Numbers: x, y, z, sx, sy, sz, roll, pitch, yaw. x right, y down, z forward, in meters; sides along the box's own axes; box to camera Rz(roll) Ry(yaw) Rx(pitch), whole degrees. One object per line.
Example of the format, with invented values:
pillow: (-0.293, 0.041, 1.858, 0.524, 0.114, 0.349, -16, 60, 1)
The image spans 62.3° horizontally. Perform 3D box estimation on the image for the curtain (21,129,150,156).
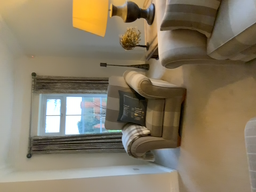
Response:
curtain: (-0.710, 0.850, 3.930, 0.170, 2.280, 0.400, 133, 136, -72)

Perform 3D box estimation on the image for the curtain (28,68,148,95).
curtain: (-0.720, -0.270, 4.150, 0.120, 2.250, 0.470, 133, 136, -72)
